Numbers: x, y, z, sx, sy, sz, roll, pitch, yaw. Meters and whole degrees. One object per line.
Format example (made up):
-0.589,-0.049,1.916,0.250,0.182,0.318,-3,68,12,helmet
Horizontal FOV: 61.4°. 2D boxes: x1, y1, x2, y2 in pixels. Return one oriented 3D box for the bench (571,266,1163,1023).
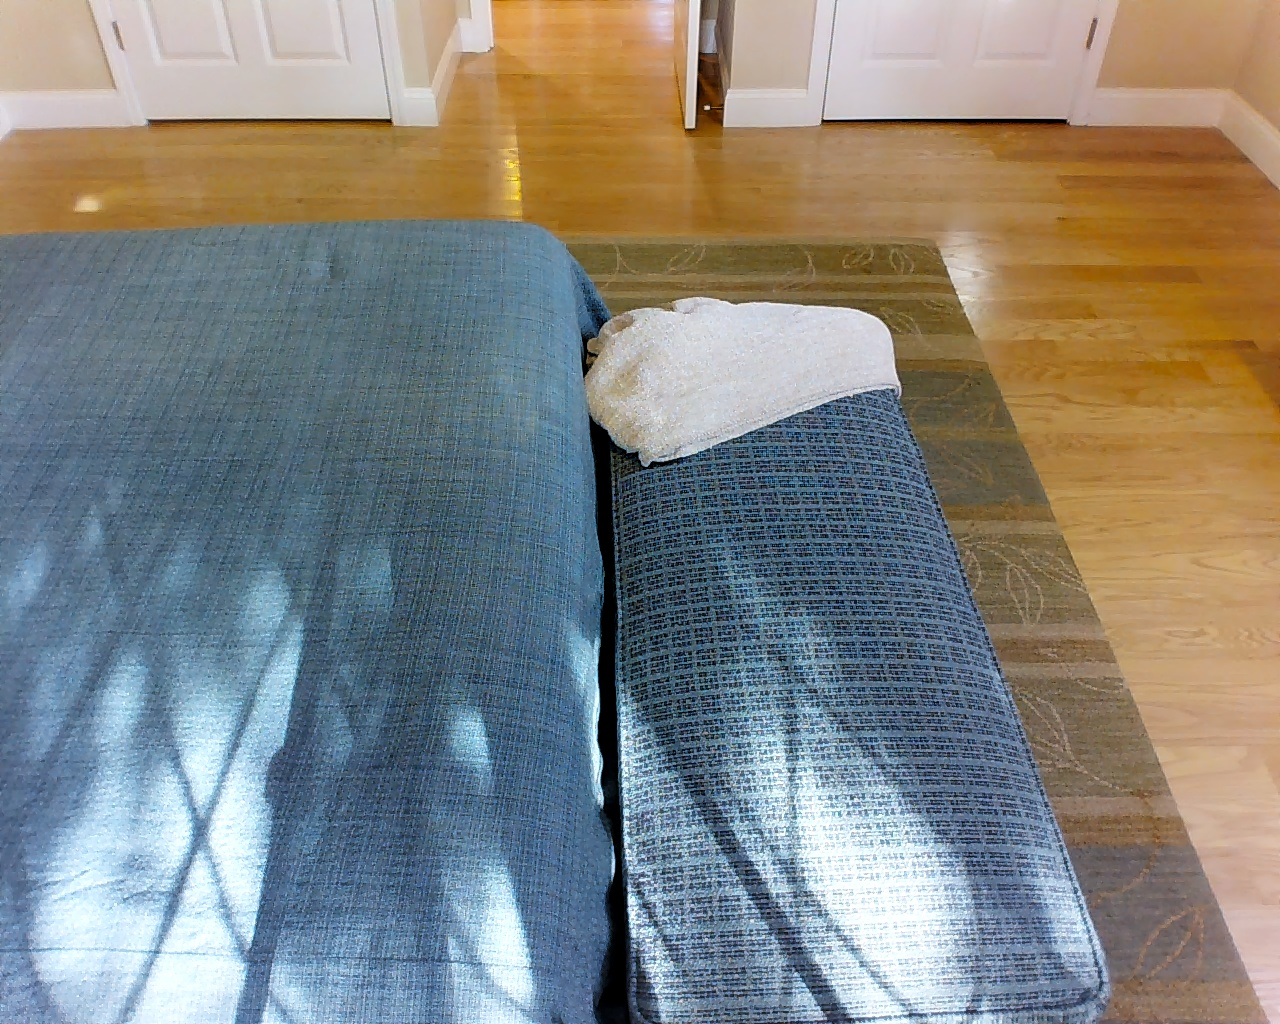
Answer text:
0.220,0.200,1.770,0.580,0.560,1.420,0,42,0,bench
